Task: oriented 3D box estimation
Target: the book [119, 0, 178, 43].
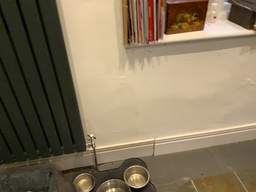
[{"bbox_3d":[0.090,-0.420,1.030,0.240,0.250,0.160,-9,36,-10],"label":"book"}]
